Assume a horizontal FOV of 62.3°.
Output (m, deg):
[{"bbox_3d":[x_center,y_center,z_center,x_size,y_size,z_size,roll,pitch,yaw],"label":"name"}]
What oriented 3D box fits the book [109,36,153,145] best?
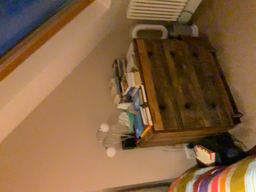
[{"bbox_3d":[-0.010,-0.050,1.910,0.460,0.150,0.860,117,147,-59],"label":"book"}]
